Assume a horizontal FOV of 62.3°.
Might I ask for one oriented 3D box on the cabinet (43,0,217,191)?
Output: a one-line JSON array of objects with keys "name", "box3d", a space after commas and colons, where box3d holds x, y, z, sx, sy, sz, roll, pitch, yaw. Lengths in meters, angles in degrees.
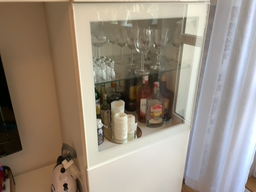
[{"name": "cabinet", "box3d": [-0.010, -0.120, 1.040, 0.610, 1.920, 0.440, -13, 27, -28]}]
